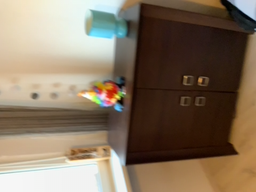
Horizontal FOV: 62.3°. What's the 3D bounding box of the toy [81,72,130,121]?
[{"bbox_3d":[-0.200,-0.020,1.640,0.520,0.230,0.290,-155,68,-66],"label":"toy"}]
